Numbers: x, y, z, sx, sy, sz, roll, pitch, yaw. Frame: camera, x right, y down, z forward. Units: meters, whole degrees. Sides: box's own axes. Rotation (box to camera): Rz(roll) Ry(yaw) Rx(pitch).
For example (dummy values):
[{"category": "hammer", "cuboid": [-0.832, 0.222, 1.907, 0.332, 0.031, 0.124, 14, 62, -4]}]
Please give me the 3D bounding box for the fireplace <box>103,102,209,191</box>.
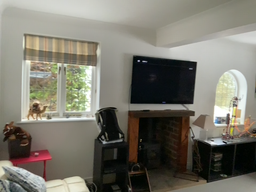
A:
[{"category": "fireplace", "cuboid": [0.420, 0.760, 3.720, 1.410, 1.170, 1.100, 1, 5, -24]}]
